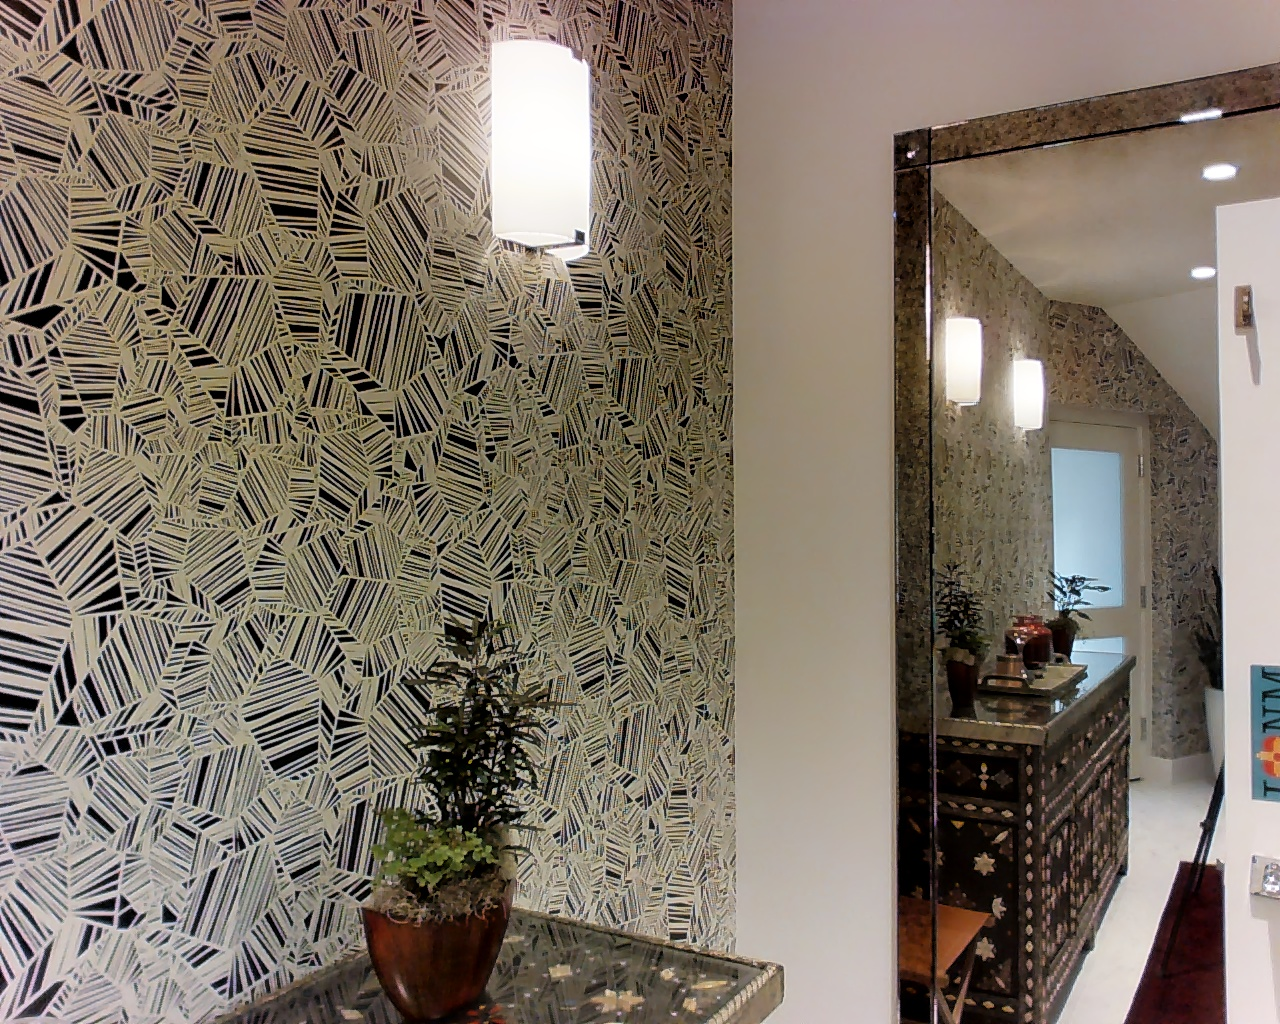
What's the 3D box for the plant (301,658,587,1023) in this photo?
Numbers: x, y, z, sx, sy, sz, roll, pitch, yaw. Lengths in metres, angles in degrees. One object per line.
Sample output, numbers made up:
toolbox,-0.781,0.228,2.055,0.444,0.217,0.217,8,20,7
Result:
plant,-0.230,0.400,1.310,0.220,0.400,0.270,0,-1,28
